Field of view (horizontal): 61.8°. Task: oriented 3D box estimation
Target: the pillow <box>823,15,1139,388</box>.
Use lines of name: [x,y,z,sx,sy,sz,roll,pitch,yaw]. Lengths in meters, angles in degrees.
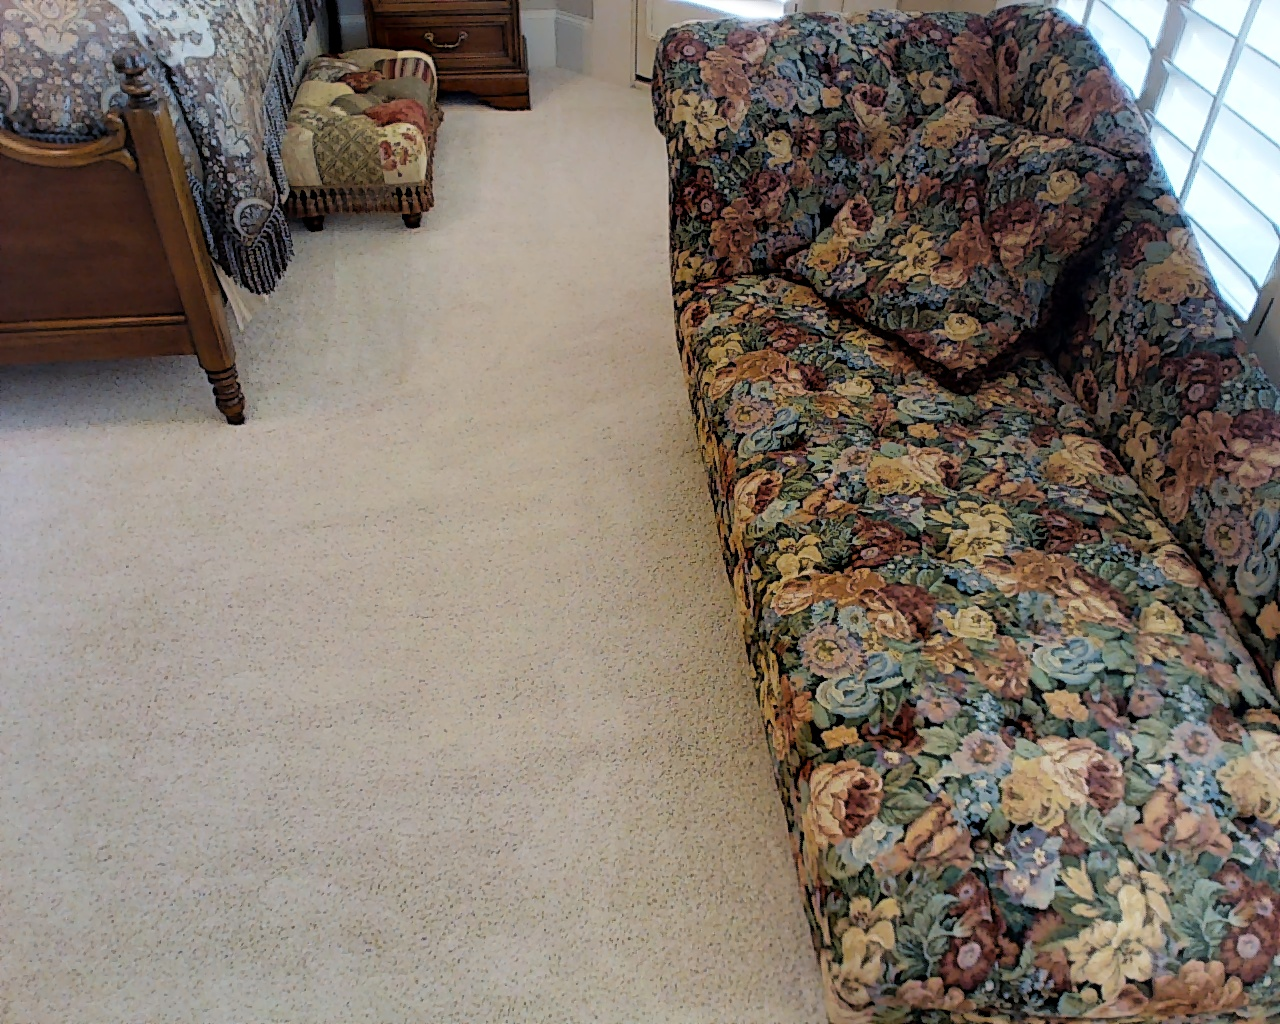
pillow: [0.610,-0.540,2.030,0.160,0.550,0.540,-28,4,-3]
